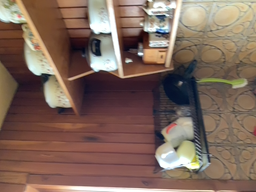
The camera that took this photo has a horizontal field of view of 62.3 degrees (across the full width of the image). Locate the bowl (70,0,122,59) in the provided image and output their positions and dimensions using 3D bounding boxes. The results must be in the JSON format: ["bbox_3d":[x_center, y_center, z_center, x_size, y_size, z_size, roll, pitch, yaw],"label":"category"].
[{"bbox_3d":[-0.110,-0.310,0.840,0.190,0.140,0.260,84,-172,-59],"label":"bowl"}]

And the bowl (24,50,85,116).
[{"bbox_3d":[-0.410,-0.070,1.260,0.290,0.200,0.270,85,-172,-58],"label":"bowl"}]

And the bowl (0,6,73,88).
[{"bbox_3d":[-0.420,-0.230,1.020,0.270,0.190,0.270,85,-173,-57],"label":"bowl"}]
